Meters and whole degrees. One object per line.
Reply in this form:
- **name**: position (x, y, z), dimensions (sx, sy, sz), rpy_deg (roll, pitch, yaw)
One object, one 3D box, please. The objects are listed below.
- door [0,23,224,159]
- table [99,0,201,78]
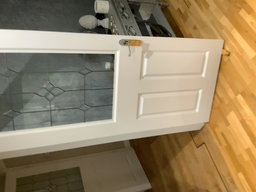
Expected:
- **door**: position (-0.150, -0.040, 1.570), dimensions (0.080, 1.970, 0.850), rpy_deg (-139, 50, -59)
- **table**: position (0.190, -0.670, 2.280), dimensions (0.340, 0.770, 0.920), rpy_deg (118, 142, -50)
